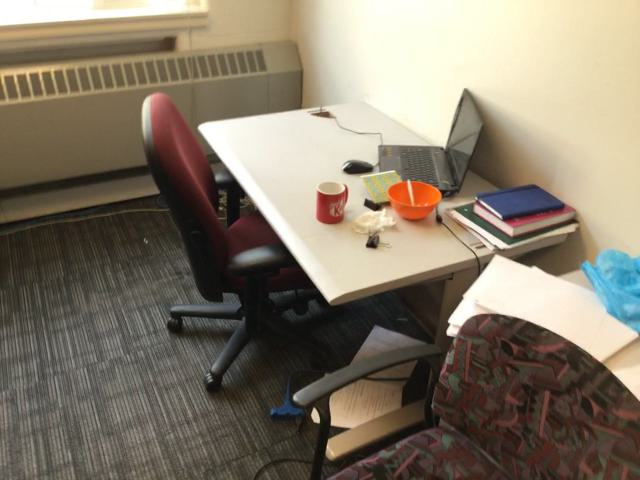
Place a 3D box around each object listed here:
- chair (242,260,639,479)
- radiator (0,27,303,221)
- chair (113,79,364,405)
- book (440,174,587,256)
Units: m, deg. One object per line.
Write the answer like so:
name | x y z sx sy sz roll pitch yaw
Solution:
chair | 0.230 0.420 1.080 0.550 0.450 0.600 -12 31 -28
radiator | -1.530 -0.480 2.450 3.080 0.750 0.370 -12 31 -28
chair | -0.280 -0.010 1.940 0.650 0.920 0.520 -2 27 -12
book | 0.540 -0.080 1.630 0.290 0.100 0.250 -12 31 -28
